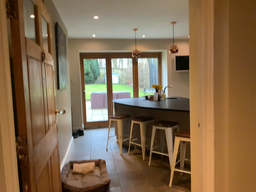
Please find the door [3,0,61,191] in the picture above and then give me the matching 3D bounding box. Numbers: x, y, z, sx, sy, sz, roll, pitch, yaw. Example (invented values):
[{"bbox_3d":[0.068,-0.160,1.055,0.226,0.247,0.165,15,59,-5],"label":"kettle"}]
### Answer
[{"bbox_3d":[-0.670,0.200,1.610,0.160,1.990,0.680,-2,5,-10],"label":"door"}]
